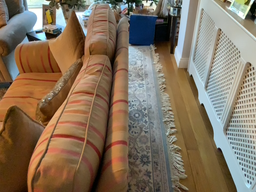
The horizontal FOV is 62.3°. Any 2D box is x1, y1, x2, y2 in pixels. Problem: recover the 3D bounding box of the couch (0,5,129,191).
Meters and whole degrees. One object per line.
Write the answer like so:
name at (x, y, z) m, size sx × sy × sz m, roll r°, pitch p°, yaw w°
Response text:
couch at (-0.490, 0.120, 1.320) m, size 0.960 × 0.850 × 1.610 m, roll -2°, pitch 38°, yaw 0°
